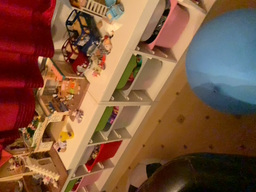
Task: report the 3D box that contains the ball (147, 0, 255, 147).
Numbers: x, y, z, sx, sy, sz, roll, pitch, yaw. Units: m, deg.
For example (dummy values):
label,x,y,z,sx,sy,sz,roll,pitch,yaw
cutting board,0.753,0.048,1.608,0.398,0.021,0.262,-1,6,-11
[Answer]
label,x,y,z,sx,sy,sz,roll,pitch,yaw
ball,0.490,-0.130,0.950,0.480,0.460,0.460,-48,58,32

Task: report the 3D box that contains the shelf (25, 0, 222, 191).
label,x,y,z,sx,sy,sz,roll,pitch,yaw
shelf,-0.110,-0.100,1.460,0.480,0.550,1.980,46,119,34
